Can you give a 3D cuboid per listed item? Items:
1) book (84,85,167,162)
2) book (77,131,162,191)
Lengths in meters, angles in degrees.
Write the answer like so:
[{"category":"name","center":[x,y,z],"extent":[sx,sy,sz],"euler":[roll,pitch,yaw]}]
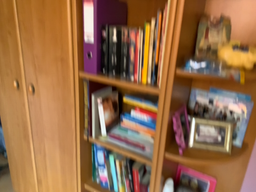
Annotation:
[{"category":"book","center":[-0.010,0.120,1.100],"extent":[0.340,0.240,0.250],"euler":[12,22,20]},{"category":"book","center":[-0.050,0.420,1.160],"extent":[0.390,0.290,0.210],"euler":[13,23,23]}]
